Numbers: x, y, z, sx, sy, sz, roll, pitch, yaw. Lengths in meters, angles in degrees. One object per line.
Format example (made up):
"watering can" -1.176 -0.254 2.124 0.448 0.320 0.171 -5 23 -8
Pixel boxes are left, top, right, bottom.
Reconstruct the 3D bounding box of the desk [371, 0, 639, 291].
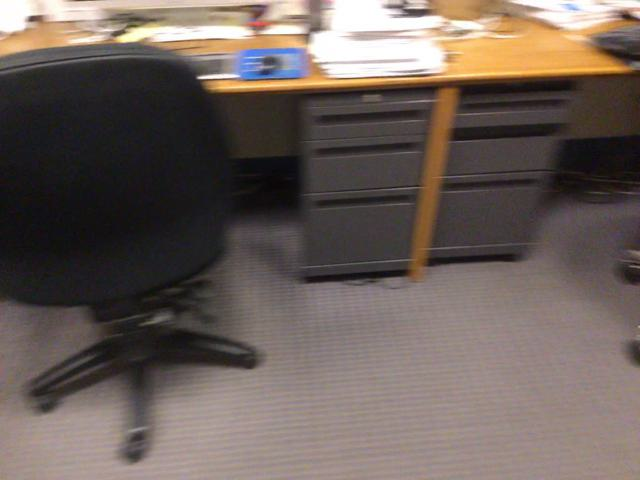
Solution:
"desk" 1.020 -0.430 2.010 1.540 0.750 0.770 -5 36 -5

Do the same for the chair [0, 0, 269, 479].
"chair" -0.480 -0.010 1.330 0.620 1.010 0.710 -5 36 -5

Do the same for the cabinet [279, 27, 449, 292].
"cabinet" 0.110 -0.280 1.940 0.420 0.670 0.560 -5 36 -5
